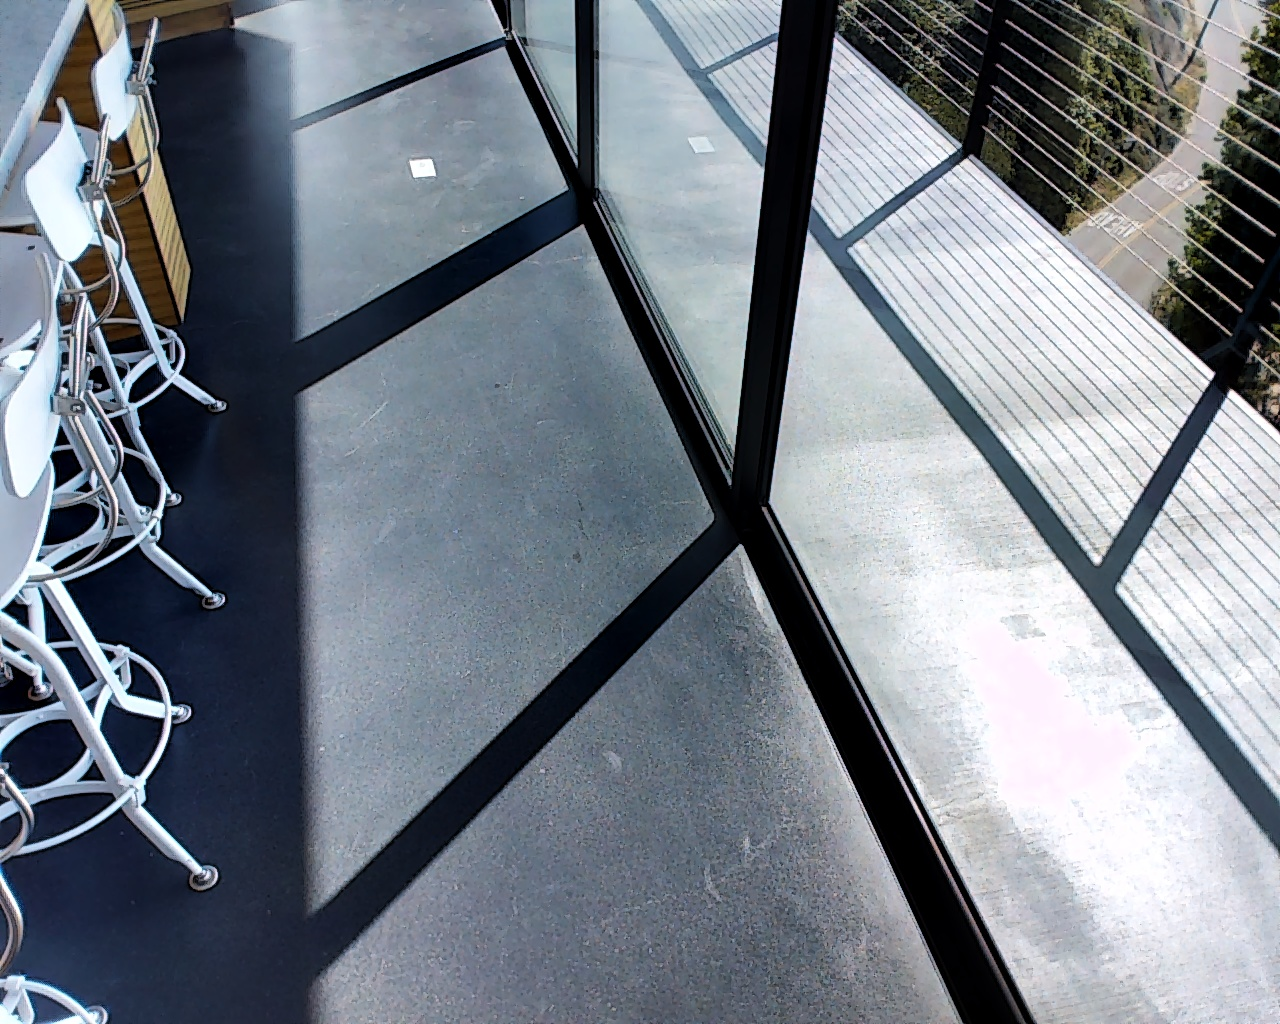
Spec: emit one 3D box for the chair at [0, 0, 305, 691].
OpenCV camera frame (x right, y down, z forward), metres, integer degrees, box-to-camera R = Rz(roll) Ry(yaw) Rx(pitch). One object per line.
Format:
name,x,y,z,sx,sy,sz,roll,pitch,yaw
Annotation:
chair,-0.980,-0.330,1.950,0.470,0.990,0.760,-12,44,-14

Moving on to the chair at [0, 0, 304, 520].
chair,-1.130,-0.610,2.310,0.520,0.900,0.740,-14,45,-16

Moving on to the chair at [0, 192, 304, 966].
chair,-0.860,0.140,1.480,0.590,0.940,0.500,-9,43,-10
